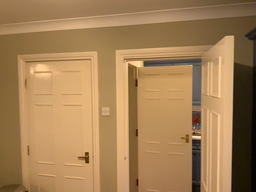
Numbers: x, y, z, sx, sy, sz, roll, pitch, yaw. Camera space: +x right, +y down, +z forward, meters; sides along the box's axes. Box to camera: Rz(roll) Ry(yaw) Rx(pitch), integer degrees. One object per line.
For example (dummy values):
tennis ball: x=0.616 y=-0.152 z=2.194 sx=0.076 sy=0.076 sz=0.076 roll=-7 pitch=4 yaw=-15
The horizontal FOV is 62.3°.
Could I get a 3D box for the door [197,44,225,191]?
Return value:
door: x=0.600 y=0.640 z=1.610 sx=0.050 sy=1.900 sz=0.770 roll=0 pitch=3 yaw=12
